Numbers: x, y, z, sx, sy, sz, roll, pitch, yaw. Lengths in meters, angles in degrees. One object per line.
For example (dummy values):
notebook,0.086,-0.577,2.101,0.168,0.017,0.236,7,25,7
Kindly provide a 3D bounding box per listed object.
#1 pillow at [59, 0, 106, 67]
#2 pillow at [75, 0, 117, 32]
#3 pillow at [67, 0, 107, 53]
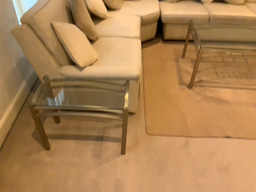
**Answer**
pillow,-0.340,-0.490,1.690,0.130,0.360,0.380,6,70,17
pillow,-0.330,-1.010,2.320,0.190,0.420,0.380,-10,53,25
pillow,-0.350,-0.700,1.930,0.140,0.390,0.450,-14,47,15
